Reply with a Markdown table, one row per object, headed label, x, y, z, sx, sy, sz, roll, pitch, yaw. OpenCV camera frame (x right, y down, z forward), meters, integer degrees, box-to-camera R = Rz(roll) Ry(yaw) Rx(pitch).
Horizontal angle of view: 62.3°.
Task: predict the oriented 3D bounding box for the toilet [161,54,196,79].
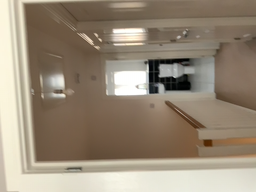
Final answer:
| label | x | y | z | sx | sy | sz | roll | pitch | yaw |
| --- | --- | --- | --- | --- | --- | --- | --- | --- | --- |
| toilet | 1.270 | -0.730 | 5.450 | 0.710 | 0.720 | 0.510 | 46 | -138 | -89 |
